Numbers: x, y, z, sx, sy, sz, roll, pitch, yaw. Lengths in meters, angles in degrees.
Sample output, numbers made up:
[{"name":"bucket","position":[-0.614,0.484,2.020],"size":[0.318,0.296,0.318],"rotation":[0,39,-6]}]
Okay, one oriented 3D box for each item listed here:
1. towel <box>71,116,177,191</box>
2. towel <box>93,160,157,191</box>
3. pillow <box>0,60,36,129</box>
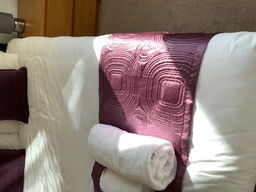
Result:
[{"name":"towel","position":[-0.040,0.210,0.770],"size":[0.410,0.120,0.190],"rotation":[10,99,43]},{"name":"towel","position":[-0.020,0.340,0.780],"size":[0.240,0.080,0.110],"rotation":[10,99,43]},{"name":"pillow","position":[-0.880,-0.010,1.440],"size":[0.150,0.400,0.410],"rotation":[12,81,17]}]
